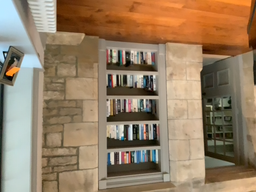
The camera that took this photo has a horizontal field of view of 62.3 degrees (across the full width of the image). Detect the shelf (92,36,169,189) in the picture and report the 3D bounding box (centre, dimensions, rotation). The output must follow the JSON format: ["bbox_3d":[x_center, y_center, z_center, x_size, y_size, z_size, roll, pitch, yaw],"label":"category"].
[{"bbox_3d":[0.020,0.220,3.280,1.070,2.100,0.450,1,175,-17],"label":"shelf"}]
